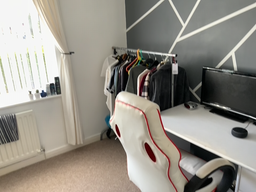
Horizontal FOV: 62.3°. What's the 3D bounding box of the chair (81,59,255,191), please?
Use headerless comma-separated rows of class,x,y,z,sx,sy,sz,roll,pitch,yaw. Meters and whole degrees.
chair,0.280,0.420,1.430,0.860,1.180,0.650,-15,22,-34

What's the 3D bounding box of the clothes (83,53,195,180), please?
clothes,0.070,0.100,2.360,0.610,1.010,1.070,-15,22,-35
